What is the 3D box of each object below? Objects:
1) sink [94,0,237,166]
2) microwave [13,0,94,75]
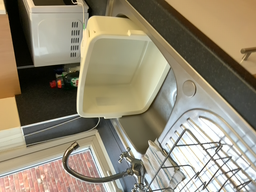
[{"bbox_3d":[0.060,-0.070,0.810,0.450,0.180,0.470,58,147,33],"label":"sink"},{"bbox_3d":[-0.410,-0.420,1.080,0.500,0.260,0.340,60,147,30],"label":"microwave"}]
